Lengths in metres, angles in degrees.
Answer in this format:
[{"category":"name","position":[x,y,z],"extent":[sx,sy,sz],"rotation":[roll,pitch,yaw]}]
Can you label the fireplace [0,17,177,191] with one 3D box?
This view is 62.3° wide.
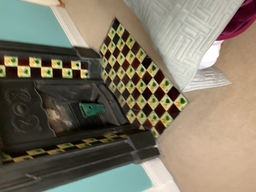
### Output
[{"category":"fireplace","position":[-0.580,0.040,1.210],"extent":[1.200,1.310,0.370],"rotation":[56,129,31]}]
